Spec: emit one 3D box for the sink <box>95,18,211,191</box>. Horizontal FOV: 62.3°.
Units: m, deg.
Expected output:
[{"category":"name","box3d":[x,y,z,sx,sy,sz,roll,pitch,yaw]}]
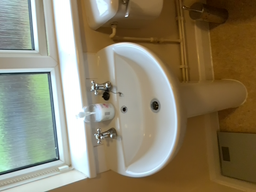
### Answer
[{"category":"sink","box3d":[0.070,0.050,0.850,0.420,0.180,0.560,-3,93,55]}]
